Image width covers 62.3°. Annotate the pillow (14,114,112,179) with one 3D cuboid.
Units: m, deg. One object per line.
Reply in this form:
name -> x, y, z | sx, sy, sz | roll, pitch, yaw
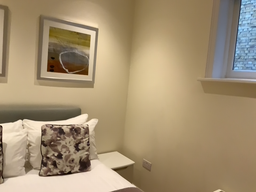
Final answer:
pillow -> -0.620, 0.410, 2.000 | 0.710, 0.350, 0.590 | 2, 6, -37
